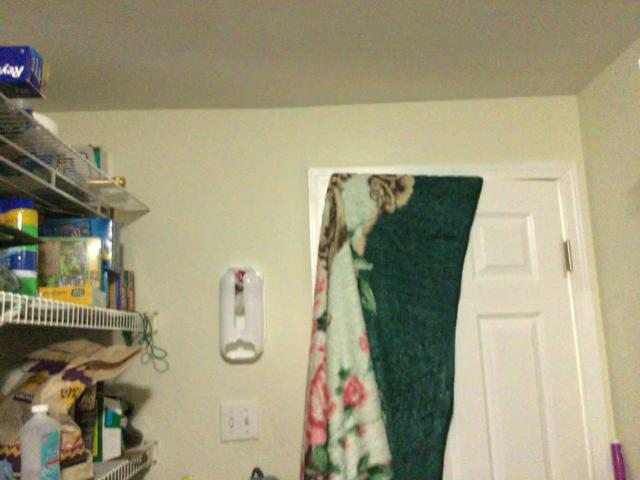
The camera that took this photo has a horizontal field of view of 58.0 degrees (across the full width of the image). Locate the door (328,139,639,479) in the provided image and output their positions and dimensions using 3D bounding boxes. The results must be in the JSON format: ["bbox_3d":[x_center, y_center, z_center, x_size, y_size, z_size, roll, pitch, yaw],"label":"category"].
[{"bbox_3d":[0.490,0.770,1.580,0.850,2.120,0.160,-2,-11,-1],"label":"door"}]

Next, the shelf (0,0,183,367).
[{"bbox_3d":[-0.660,-0.210,0.620,0.500,0.700,2.280,-2,-11,-1],"label":"shelf"}]
